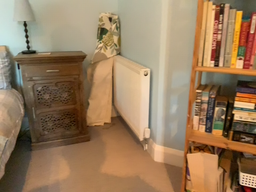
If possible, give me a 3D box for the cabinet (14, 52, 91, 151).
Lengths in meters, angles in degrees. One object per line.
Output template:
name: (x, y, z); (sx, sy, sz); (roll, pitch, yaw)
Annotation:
cabinet: (-0.680, 0.010, 2.010); (0.530, 0.770, 0.470); (-7, 20, -18)
